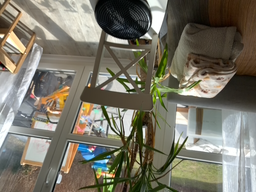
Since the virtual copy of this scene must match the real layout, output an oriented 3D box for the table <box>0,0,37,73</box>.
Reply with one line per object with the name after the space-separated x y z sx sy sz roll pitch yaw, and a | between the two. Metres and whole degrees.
-1.310 -0.570 1.980 0.590 0.480 0.460 7 151 9 | table
